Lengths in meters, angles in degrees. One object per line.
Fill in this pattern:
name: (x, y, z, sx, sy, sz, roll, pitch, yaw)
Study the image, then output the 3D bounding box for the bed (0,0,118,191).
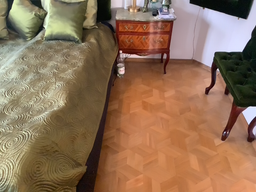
bed: (-1.150, -0.150, 1.620, 1.950, 1.020, 2.220, 2, 40, 1)
